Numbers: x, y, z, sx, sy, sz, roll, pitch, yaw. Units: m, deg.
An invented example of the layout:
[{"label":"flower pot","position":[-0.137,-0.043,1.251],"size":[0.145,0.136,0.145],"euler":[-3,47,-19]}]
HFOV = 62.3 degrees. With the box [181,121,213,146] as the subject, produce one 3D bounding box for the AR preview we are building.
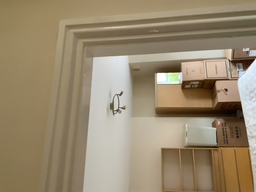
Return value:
[{"label":"box","position":[1.410,0.770,4.370],"size":[0.370,0.550,0.440],"euler":[66,-155,-69]}]
